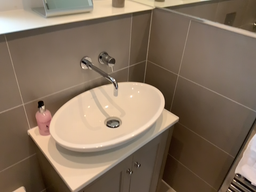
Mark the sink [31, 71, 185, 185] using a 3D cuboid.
[{"bbox_3d":[-0.070,0.080,1.000,0.590,0.100,0.390,-26,44,-37],"label":"sink"}]
